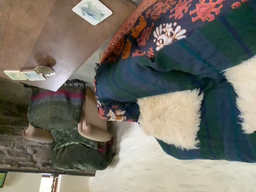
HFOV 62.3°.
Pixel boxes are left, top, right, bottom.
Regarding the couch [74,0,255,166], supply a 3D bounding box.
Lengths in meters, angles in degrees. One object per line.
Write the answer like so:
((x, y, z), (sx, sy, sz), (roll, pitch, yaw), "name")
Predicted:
((0.510, -0.130, 1.170), (0.980, 0.850, 1.580), (16, 154, -31), "couch")

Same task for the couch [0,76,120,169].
((-0.700, 0.410, 2.600), (0.920, 0.830, 1.090), (-3, 157, 12), "couch")
